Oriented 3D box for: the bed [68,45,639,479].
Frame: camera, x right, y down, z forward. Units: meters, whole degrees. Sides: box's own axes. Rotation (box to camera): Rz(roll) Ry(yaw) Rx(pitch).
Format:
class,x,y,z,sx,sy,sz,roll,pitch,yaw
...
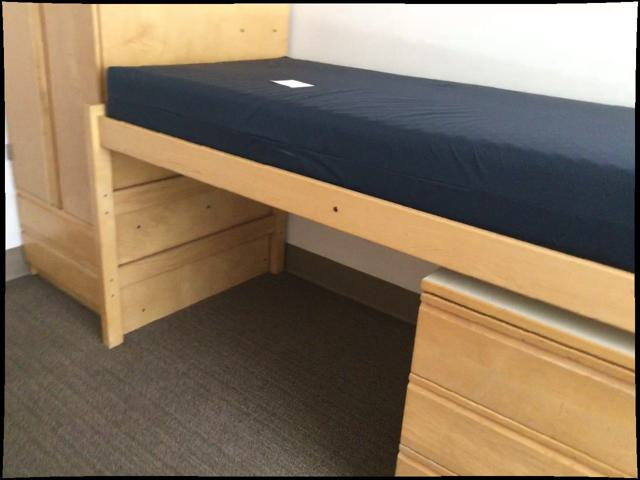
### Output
class,x,y,z,sx,sy,sz,roll,pitch,yaw
bed,0.320,0.060,1.850,2.139,1.061,1.060,21,28,34
